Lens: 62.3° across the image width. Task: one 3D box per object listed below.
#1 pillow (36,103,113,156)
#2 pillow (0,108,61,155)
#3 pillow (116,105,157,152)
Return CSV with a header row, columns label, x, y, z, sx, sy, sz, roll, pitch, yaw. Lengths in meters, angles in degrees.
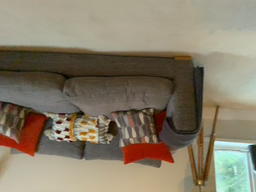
label,x,y,z,sx,sy,sz,roll,pitch,yaw
pillow,-0.510,0.340,2.120,0.700,0.480,0.130,5,-151,4
pillow,-1.180,0.400,2.300,0.680,0.350,0.570,5,158,1
pillow,0.070,0.280,1.860,0.320,0.340,0.110,10,-158,19
